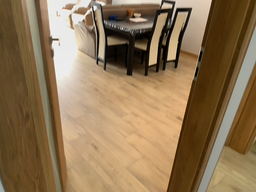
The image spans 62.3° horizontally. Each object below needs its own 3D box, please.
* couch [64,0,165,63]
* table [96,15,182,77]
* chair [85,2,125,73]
[{"bbox_3d":[-0.240,-1.490,4.520,1.850,0.970,0.930,-21,39,-37],"label":"couch"},{"bbox_3d":[0.200,-1.000,3.940,1.320,0.750,0.840,-21,39,-37],"label":"table"},{"bbox_3d":[-0.390,-0.980,3.550,0.490,1.040,0.380,-16,36,-31],"label":"chair"}]
